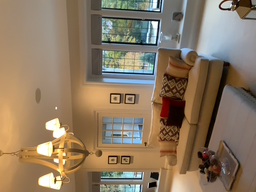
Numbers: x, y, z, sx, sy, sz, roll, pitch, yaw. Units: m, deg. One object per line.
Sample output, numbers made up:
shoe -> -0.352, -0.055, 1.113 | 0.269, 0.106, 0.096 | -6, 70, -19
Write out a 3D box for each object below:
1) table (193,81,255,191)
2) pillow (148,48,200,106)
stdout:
table -> 1.320, 0.860, 2.590 | 1.040, 0.370, 1.810 | -98, 10, -64
pillow -> 0.800, -0.320, 3.660 | 0.790, 0.530, 0.290 | 56, -175, -24
